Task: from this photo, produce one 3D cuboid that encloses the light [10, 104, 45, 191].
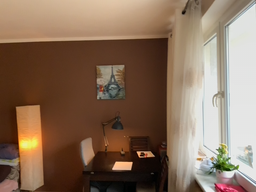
[{"bbox_3d":[-1.570,0.870,3.340,0.390,1.460,0.340,0,-1,-1],"label":"light"}]
